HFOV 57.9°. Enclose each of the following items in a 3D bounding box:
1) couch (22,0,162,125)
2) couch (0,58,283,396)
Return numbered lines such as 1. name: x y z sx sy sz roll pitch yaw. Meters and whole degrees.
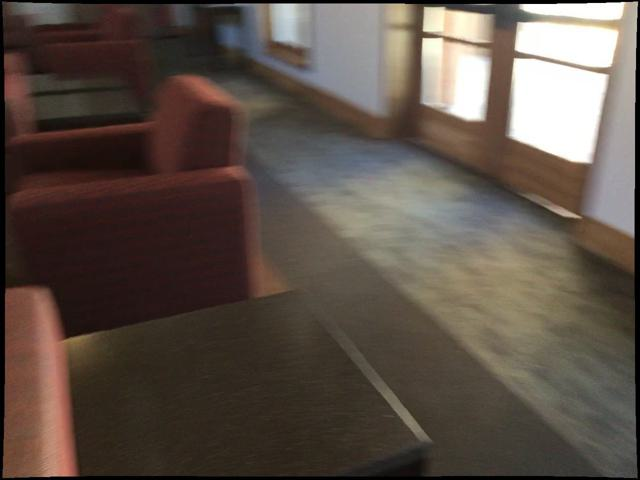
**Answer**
1. couch: -1.898 -1.552 4.810 0.829 0.811 0.890 -16 33 -20
2. couch: -0.739 -0.130 2.190 0.879 0.801 0.850 -16 33 -20
